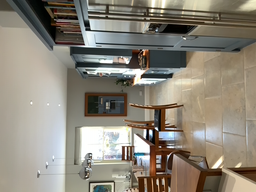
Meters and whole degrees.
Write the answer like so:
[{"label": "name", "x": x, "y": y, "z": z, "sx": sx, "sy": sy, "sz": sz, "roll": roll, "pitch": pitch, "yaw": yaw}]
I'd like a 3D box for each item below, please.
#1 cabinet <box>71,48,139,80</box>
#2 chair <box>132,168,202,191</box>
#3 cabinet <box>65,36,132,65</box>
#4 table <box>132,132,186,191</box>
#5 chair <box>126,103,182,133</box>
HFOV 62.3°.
[{"label": "cabinet", "x": -0.640, "y": -0.810, "z": 5.860, "sx": 1.900, "sy": 1.550, "sz": 0.440, "roll": 155, "pitch": 115, "yaw": -82}, {"label": "chair", "x": 0.640, "y": 1.520, "z": 3.670, "sx": 0.540, "sy": 1.080, "sz": 0.480, "roll": 114, "pitch": 156, "yaw": -72}, {"label": "cabinet", "x": -0.610, "y": -0.940, "z": 4.510, "sx": 0.800, "sy": 1.280, "sz": 0.340, "roll": 155, "pitch": 115, "yaw": -82}, {"label": "table", "x": 0.620, "y": 1.550, "z": 5.120, "sx": 2.020, "sy": 0.770, "sz": 1.130, "roll": 155, "pitch": 115, "yaw": -82}, {"label": "chair", "x": 0.540, "y": 0.460, "z": 4.590, "sx": 0.520, "sy": 1.080, "sz": 0.560, "roll": -144, "pitch": 56, "yaw": -81}]
